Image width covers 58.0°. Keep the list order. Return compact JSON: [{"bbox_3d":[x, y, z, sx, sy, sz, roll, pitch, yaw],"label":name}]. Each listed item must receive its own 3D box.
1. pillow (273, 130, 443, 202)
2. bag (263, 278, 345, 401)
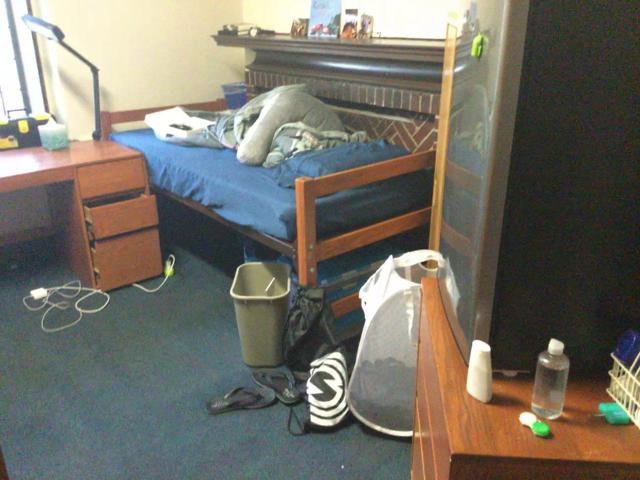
[{"bbox_3d":[0.170,-0.350,2.580,0.580,0.140,0.480,-18,28,-38],"label":"pillow"},{"bbox_3d":[-0.050,0.370,2.200,0.270,0.340,0.300,2,22,5],"label":"bag"}]
